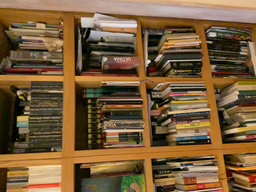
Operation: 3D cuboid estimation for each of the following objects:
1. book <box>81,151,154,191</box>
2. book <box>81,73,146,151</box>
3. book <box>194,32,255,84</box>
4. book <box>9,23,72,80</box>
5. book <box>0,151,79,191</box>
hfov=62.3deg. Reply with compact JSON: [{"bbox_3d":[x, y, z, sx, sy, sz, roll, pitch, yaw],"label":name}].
[{"bbox_3d":[-0.070,0.500,1.160,0.240,0.360,0.360,123,145,-70],"label":"book"},{"bbox_3d":[-0.100,0.100,1.280,0.190,0.350,0.430,133,136,-73],"label":"book"},{"bbox_3d":[0.670,-0.250,1.450,0.170,0.340,0.290,129,140,-72],"label":"book"},{"bbox_3d":[-0.510,-0.260,1.290,0.150,0.320,0.290,128,141,-72],"label":"book"},{"bbox_3d":[-0.450,0.490,1.110,0.310,0.360,0.360,124,144,-70],"label":"book"}]
